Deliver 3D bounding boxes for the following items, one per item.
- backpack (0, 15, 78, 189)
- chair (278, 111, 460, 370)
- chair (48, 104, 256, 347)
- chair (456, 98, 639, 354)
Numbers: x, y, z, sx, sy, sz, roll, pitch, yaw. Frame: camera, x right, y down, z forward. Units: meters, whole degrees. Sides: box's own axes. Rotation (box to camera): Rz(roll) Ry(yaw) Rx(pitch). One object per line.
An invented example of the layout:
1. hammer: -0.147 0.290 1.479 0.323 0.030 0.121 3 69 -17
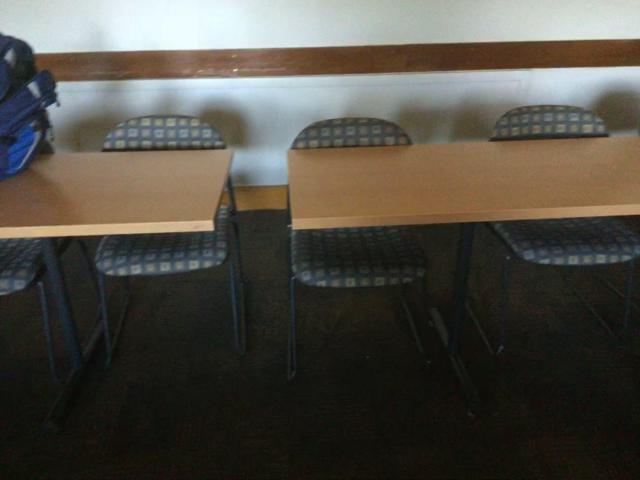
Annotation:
1. backpack: -0.980 -0.410 1.700 0.420 0.410 0.410 -11 28 -17
2. chair: 0.130 -0.020 1.970 0.500 0.690 0.540 -3 27 -2
3. chair: -0.520 -0.070 2.030 0.510 0.670 0.520 -3 27 -2
4. chair: 0.830 -0.070 2.040 0.500 0.710 0.550 -3 27 -2
